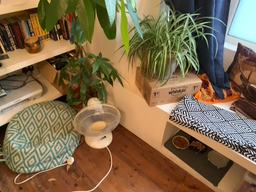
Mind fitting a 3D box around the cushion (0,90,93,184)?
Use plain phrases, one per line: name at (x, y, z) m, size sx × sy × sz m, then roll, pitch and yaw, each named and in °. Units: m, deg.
cushion at (-0.660, 0.270, 1.640) m, size 0.590 × 0.240 × 0.480 m, roll -24°, pitch 47°, yaw -31°
